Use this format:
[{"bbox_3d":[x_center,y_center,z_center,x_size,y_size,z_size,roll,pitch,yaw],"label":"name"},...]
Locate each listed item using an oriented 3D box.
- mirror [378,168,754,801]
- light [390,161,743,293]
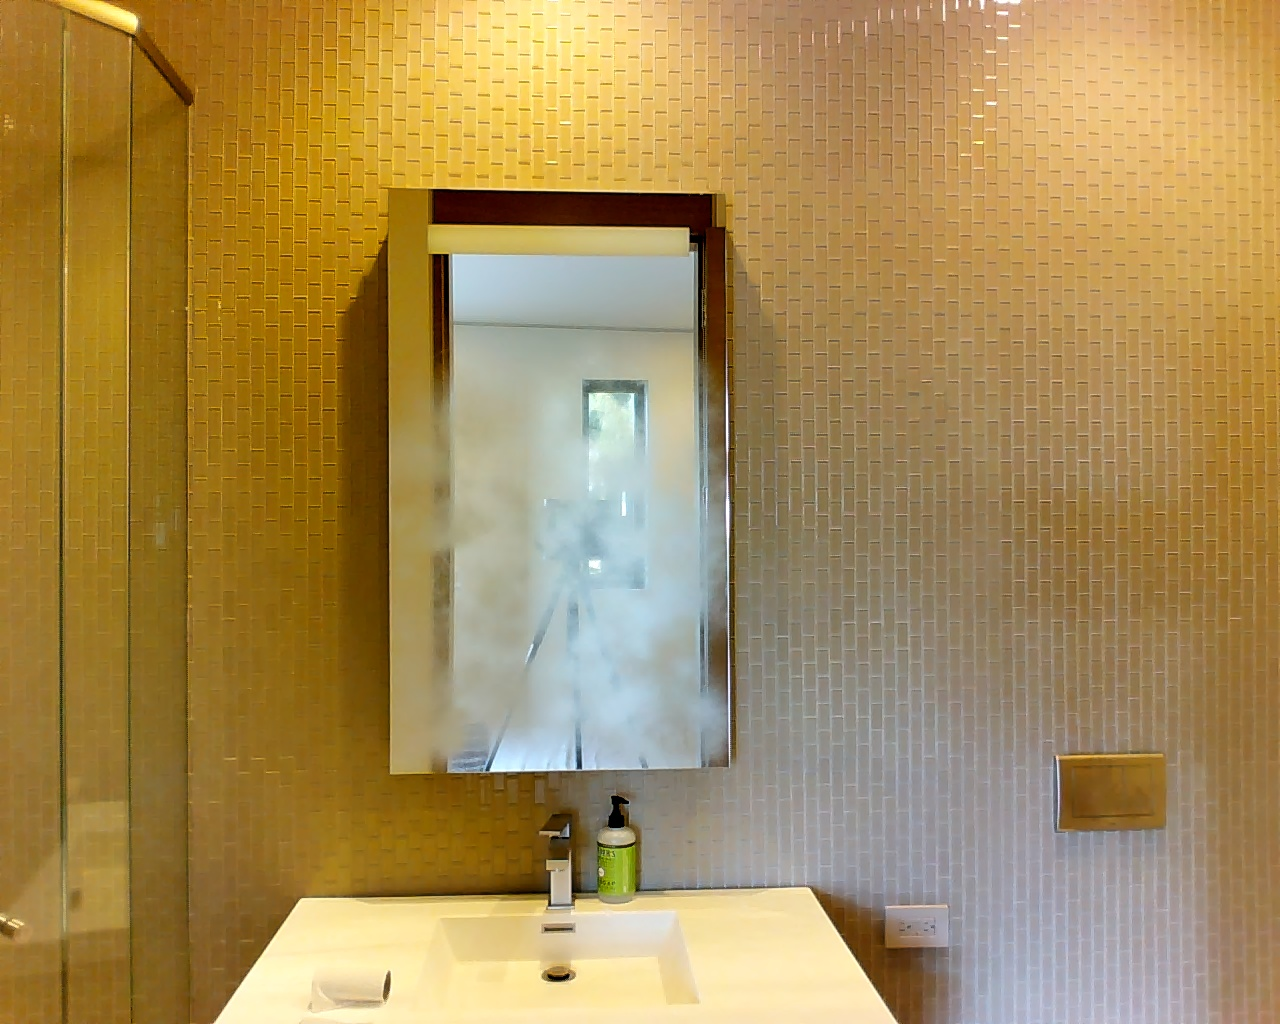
[{"bbox_3d":[-0.130,-0.050,1.930,0.650,1.100,0.100,0,-1,-2],"label":"mirror"},{"bbox_3d":[-0.130,-0.510,1.940,0.620,0.210,0.090,0,-1,-2],"label":"light"}]
